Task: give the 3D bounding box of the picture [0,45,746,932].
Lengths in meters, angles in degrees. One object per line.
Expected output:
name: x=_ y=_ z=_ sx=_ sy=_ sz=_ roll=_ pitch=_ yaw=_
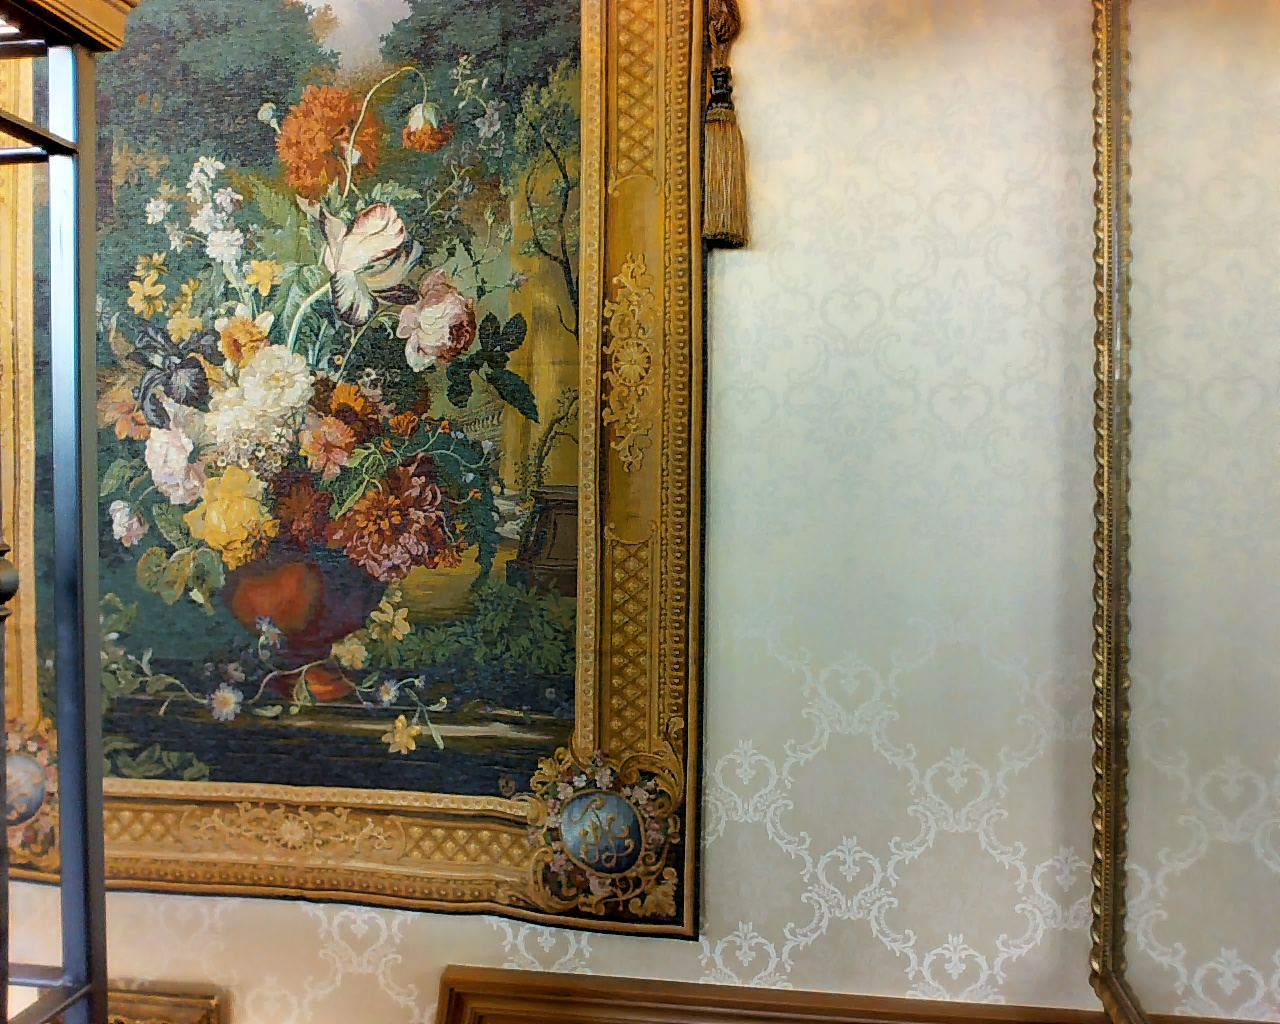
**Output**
picture: x=-0.590 y=-0.040 z=1.950 sx=1.540 sy=1.470 sz=0.080 roll=1 pitch=2 yaw=10
